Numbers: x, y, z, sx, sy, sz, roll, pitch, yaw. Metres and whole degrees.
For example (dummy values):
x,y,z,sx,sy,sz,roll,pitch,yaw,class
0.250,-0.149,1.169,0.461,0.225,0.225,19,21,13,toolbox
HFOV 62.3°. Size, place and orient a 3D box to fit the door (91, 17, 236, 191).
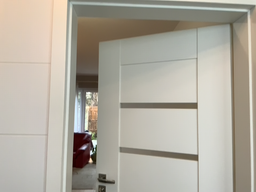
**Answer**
x,y,z,sx,sy,sz,roll,pitch,yaw,class
0.150,0.630,1.210,0.840,2.040,0.060,-1,-4,26,door
